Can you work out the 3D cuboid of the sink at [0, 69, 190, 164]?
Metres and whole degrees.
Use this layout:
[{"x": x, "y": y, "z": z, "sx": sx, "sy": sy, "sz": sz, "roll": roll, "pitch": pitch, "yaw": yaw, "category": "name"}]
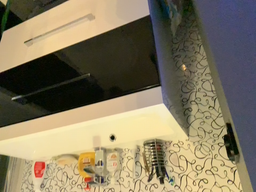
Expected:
[{"x": -0.210, "y": 0.150, "z": 0.900, "sx": 0.850, "sy": 0.110, "sz": 0.410, "roll": -14, "pitch": 151, "yaw": 19, "category": "sink"}]
